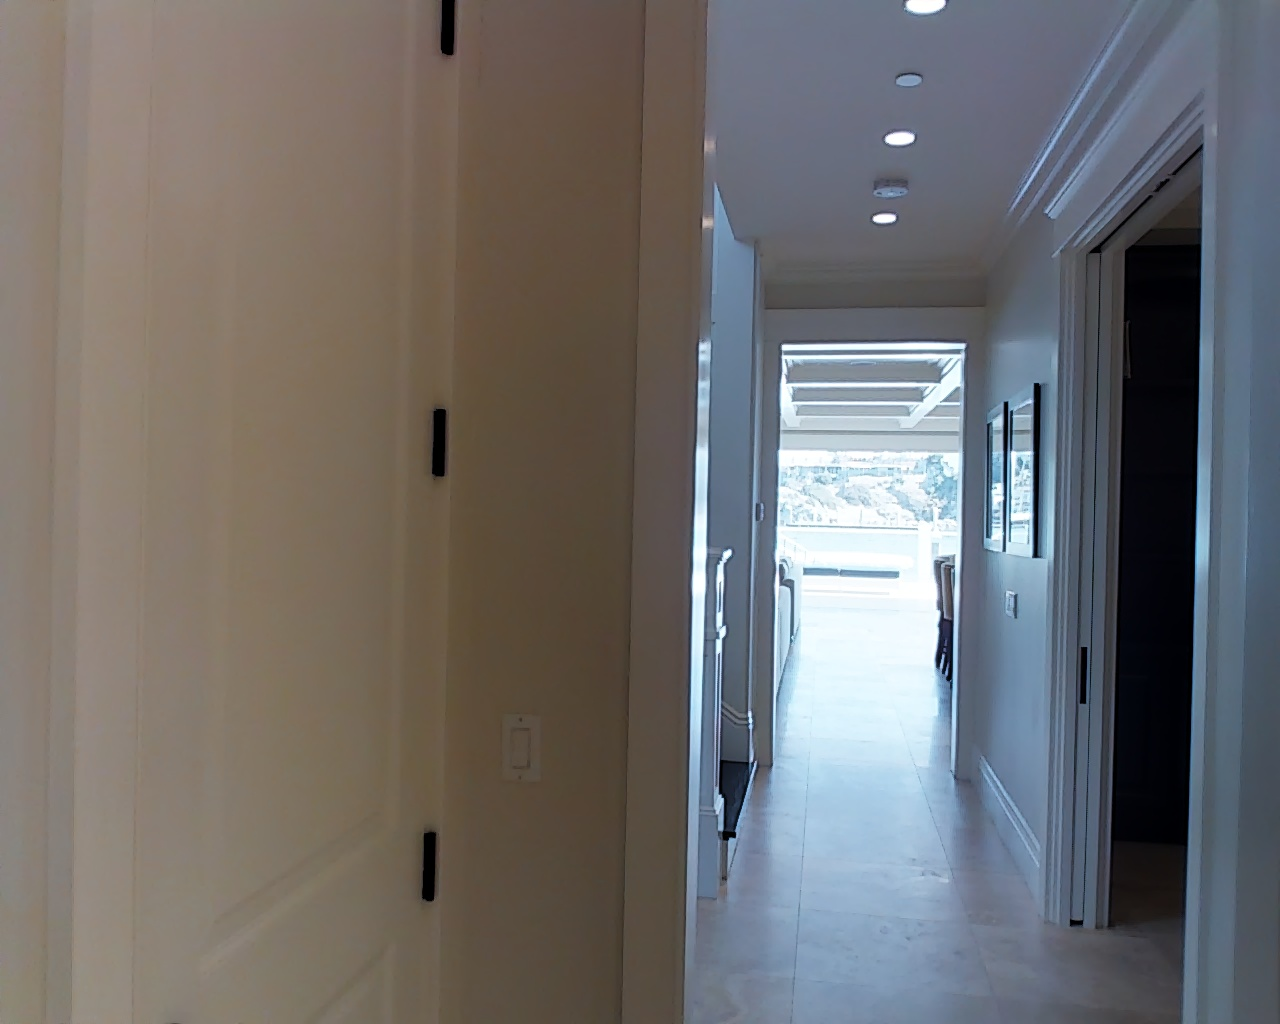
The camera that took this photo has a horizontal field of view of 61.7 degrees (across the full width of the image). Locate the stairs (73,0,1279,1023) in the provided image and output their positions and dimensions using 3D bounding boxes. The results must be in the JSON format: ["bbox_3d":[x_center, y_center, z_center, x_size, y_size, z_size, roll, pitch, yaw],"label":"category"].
[{"bbox_3d":[0.320,-0.150,3.220,3.299,3.311,1.520,1,0,10],"label":"stairs"}]
